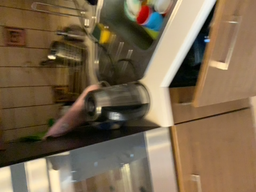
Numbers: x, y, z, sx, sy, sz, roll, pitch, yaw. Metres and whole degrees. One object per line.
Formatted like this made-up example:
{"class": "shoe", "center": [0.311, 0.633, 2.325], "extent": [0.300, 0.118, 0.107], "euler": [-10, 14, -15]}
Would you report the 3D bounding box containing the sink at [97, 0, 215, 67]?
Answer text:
{"class": "sink", "center": [0.100, -0.420, 0.940], "extent": [0.460, 0.190, 0.390], "euler": [49, 129, 35]}
